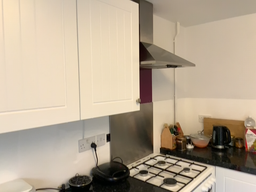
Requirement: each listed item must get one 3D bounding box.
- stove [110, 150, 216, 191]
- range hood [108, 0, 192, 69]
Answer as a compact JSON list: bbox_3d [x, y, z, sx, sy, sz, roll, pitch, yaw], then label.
[{"bbox_3d":[0.300,0.650,1.760,0.630,0.120,0.640,2,5,41],"label":"stove"},{"bbox_3d":[0.200,-0.520,1.750,0.440,0.540,0.580,2,5,39],"label":"range hood"}]
